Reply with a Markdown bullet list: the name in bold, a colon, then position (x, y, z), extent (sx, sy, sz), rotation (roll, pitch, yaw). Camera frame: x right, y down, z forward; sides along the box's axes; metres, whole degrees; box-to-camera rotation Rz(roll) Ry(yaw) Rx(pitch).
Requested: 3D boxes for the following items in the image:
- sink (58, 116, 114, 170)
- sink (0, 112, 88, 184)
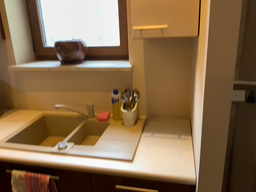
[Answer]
- **sink**: position (-0.240, 0.270, 1.330), extent (0.200, 0.140, 0.390), rotation (2, 18, 12)
- **sink**: position (-0.530, 0.300, 1.370), extent (0.360, 0.220, 0.460), rotation (2, 18, 12)
